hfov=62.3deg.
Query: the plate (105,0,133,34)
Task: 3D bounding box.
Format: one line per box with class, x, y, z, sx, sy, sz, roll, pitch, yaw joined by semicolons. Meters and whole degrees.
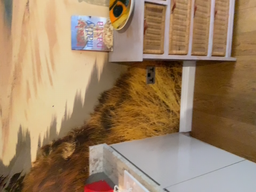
plate;-0.060;-0.530;1.250;0.260;0.050;0.290;15;105;58
